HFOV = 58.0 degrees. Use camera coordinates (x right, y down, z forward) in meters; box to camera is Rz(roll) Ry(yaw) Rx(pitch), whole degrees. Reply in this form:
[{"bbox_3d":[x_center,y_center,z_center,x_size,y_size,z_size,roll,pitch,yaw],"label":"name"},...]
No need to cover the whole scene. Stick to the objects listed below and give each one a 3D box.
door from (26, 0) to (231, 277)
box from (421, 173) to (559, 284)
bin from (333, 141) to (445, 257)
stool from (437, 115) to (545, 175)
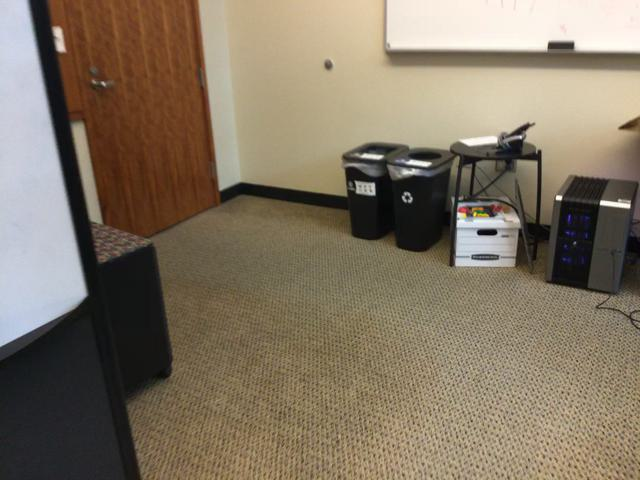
[{"bbox_3d":[-1.000,-1.120,3.120,0.190,2.370,1.140,7,23,24],"label":"door"},{"bbox_3d":[0.910,-0.090,3.100,0.550,0.370,0.540,11,25,32],"label":"box"},{"bbox_3d":[0.410,-0.260,3.390,0.480,0.520,0.450,11,25,32],"label":"bin"},{"bbox_3d":[0.880,-0.500,2.960,0.380,0.180,0.500,11,25,32],"label":"stool"}]
